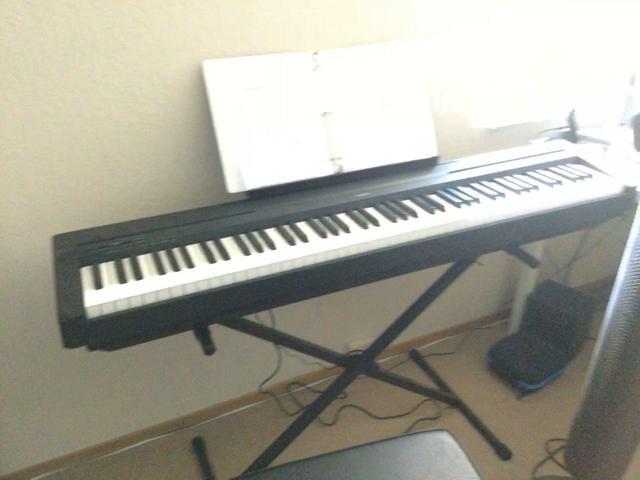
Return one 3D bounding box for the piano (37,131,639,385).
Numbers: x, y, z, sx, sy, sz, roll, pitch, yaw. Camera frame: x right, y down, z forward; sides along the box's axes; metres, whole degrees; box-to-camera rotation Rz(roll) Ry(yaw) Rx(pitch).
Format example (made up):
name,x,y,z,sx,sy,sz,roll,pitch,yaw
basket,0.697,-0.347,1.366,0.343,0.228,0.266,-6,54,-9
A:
name,x,y,z,sx,sy,sz,roll,pitch,yaw
piano,0.120,-0.020,1.280,1.320,0.160,0.340,-12,29,-15
